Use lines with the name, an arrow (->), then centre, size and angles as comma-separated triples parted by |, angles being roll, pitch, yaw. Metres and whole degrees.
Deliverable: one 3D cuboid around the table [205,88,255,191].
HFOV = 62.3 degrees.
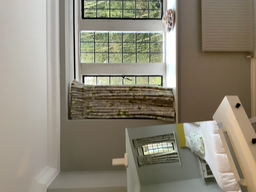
table -> 1.180, 0.380, 1.720 | 0.330, 0.770, 0.920 | 93, 175, -49
